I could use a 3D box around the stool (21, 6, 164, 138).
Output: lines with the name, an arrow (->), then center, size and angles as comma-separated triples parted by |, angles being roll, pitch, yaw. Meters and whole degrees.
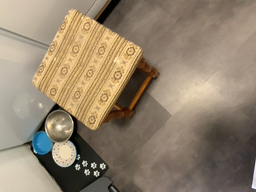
stool -> -0.100, -0.080, 0.910 | 0.340, 0.460, 0.300 | 34, 98, 15
